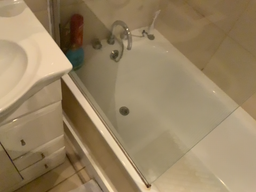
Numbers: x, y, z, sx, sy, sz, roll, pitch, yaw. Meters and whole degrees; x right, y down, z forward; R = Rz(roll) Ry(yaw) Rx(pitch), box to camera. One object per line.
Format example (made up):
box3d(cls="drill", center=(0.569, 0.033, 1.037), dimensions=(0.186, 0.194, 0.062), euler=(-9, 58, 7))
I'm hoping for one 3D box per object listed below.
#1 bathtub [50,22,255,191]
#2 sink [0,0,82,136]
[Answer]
box3d(cls="bathtub", center=(0.320, 0.390, 1.180), dimensions=(0.750, 0.550, 1.670), euler=(-26, 64, -29))
box3d(cls="sink", center=(-0.510, -0.070, 0.640), dimensions=(0.580, 0.150, 0.430), euler=(-27, 65, -30))
